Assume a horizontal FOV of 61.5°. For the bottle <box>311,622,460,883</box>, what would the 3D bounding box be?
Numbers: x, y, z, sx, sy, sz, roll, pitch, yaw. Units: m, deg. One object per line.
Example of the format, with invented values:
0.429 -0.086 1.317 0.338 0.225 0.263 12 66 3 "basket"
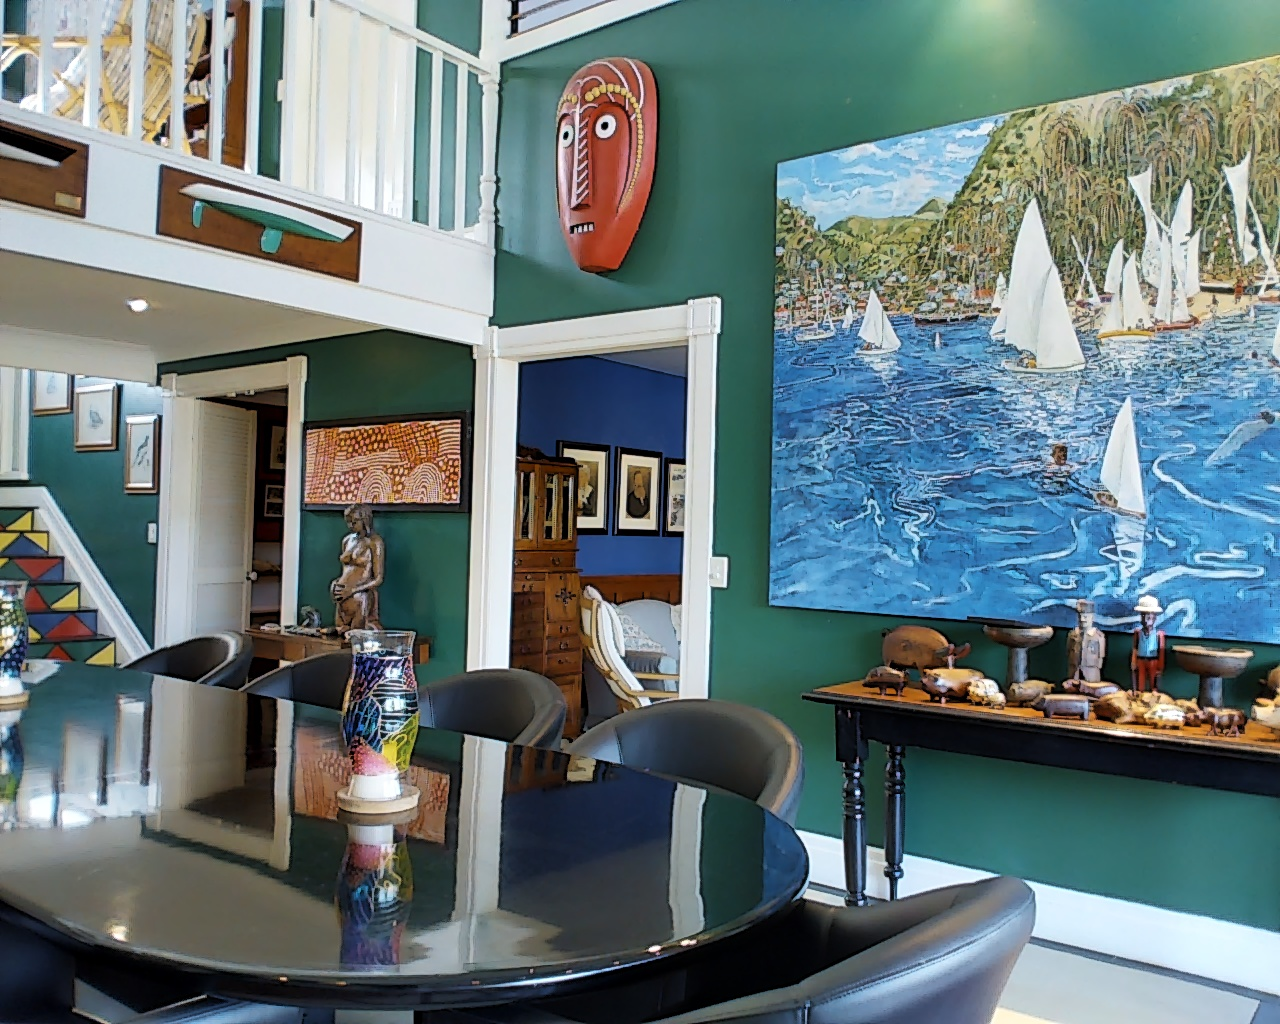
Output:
-0.480 0.440 2.040 0.180 0.440 0.190 1 -1 31 "bottle"
